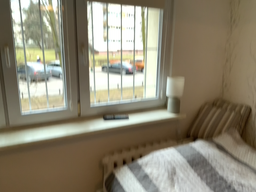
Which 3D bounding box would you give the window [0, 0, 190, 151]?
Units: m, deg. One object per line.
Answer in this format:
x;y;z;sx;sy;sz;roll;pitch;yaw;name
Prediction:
-0.580;-0.290;1.520;2.490;1.250;0.180;-7;16;-28;window
